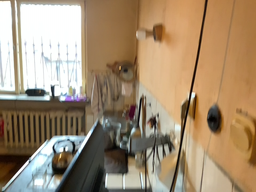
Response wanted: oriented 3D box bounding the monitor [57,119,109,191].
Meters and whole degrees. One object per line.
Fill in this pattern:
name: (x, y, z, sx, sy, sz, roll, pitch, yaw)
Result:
monitor: (-0.160, 0.420, 0.870, 0.060, 0.460, 0.710, 4, 11, 1)
